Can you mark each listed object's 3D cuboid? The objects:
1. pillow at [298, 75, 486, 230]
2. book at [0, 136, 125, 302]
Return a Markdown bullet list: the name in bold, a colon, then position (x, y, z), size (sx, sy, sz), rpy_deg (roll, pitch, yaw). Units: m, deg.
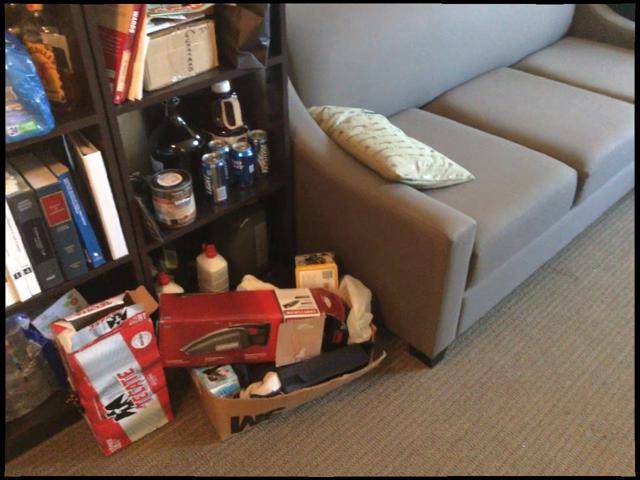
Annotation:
- **pillow**: position (0.210, -0.301, 1.850), size (0.389, 0.190, 0.470), rpy_deg (-20, 46, -20)
- **book**: position (-0.629, -0.050, 1.350), size (0.160, 0.280, 0.220), rpy_deg (33, 52, 32)
